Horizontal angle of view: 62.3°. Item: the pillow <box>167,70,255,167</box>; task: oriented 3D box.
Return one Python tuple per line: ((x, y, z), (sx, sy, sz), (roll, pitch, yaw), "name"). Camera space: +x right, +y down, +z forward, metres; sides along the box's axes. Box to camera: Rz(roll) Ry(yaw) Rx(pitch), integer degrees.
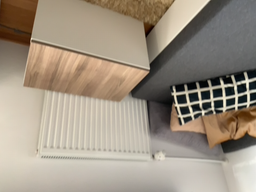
((0.640, 0.130, 1.440), (0.600, 0.480, 0.210), (16, -173, 25), "pillow")
